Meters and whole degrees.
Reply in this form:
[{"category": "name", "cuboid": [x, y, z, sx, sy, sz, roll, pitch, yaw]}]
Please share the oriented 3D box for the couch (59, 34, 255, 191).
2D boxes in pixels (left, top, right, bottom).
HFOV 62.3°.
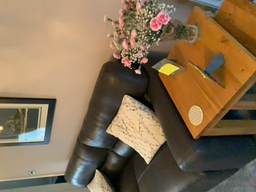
[{"category": "couch", "cuboid": [-0.050, 0.710, 2.230, 2.300, 0.940, 1.030, -62, 35, 41]}]
